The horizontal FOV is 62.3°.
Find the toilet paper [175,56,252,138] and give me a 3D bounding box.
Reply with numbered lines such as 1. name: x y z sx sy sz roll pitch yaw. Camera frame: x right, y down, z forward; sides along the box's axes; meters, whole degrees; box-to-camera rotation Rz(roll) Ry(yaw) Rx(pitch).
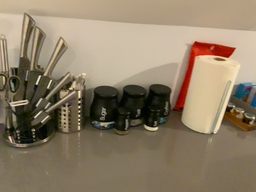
1. toilet paper: 0.330 0.000 0.860 0.170 0.290 0.140 -3 27 -21
